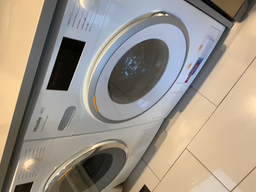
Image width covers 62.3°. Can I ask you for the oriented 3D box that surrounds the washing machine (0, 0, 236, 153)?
[{"bbox_3d":[-0.110,-0.280,1.010,0.690,0.910,0.580,45,120,33],"label":"washing machine"}]
